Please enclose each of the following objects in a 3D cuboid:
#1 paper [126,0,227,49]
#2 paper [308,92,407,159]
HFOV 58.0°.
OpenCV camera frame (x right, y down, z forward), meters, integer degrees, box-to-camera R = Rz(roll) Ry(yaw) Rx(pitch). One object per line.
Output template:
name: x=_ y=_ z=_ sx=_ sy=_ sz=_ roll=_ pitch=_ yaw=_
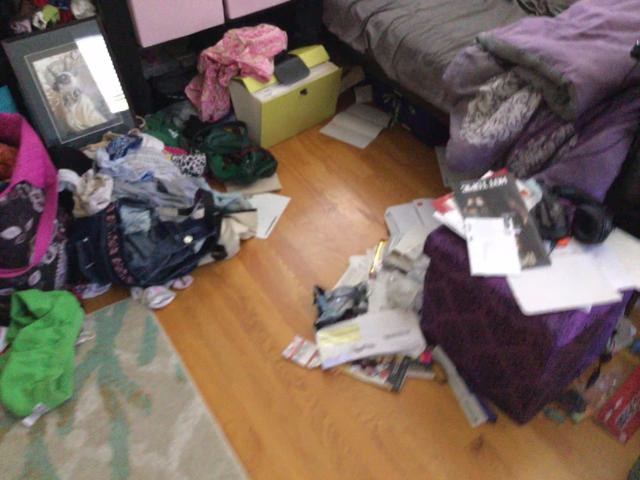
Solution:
paper: x=-0.500 y=-0.860 z=1.990 sx=0.330 sy=0.320 sz=0.050 roll=-24 pitch=46 yaw=-24
paper: x=0.160 y=-0.480 z=2.380 sx=0.260 sy=0.050 sz=0.380 roll=19 pitch=45 yaw=23
